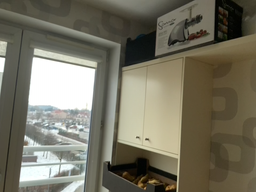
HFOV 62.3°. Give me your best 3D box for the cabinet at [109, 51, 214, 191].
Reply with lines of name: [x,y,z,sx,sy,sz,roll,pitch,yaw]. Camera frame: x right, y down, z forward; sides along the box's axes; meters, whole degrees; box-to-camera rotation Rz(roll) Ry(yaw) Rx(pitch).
cabinet: [0.170,0.800,1.510,0.320,2.080,0.670,8,-6,-35]

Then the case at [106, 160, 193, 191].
case: [0.140,0.670,1.590,0.360,0.220,0.550,8,-6,-36]

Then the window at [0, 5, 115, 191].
window: [-0.840,0.550,1.430,1.470,2.270,0.130,8,-6,-35]
